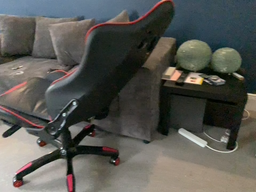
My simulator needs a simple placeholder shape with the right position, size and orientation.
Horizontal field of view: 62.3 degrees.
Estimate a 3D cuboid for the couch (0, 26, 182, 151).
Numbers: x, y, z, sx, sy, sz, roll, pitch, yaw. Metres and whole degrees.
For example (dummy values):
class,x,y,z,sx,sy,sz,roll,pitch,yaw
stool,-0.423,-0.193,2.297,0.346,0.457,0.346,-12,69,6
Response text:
class,x,y,z,sx,sy,sz,roll,pitch,yaw
couch,-0.570,-0.240,2.120,1.980,0.660,0.900,10,30,21
